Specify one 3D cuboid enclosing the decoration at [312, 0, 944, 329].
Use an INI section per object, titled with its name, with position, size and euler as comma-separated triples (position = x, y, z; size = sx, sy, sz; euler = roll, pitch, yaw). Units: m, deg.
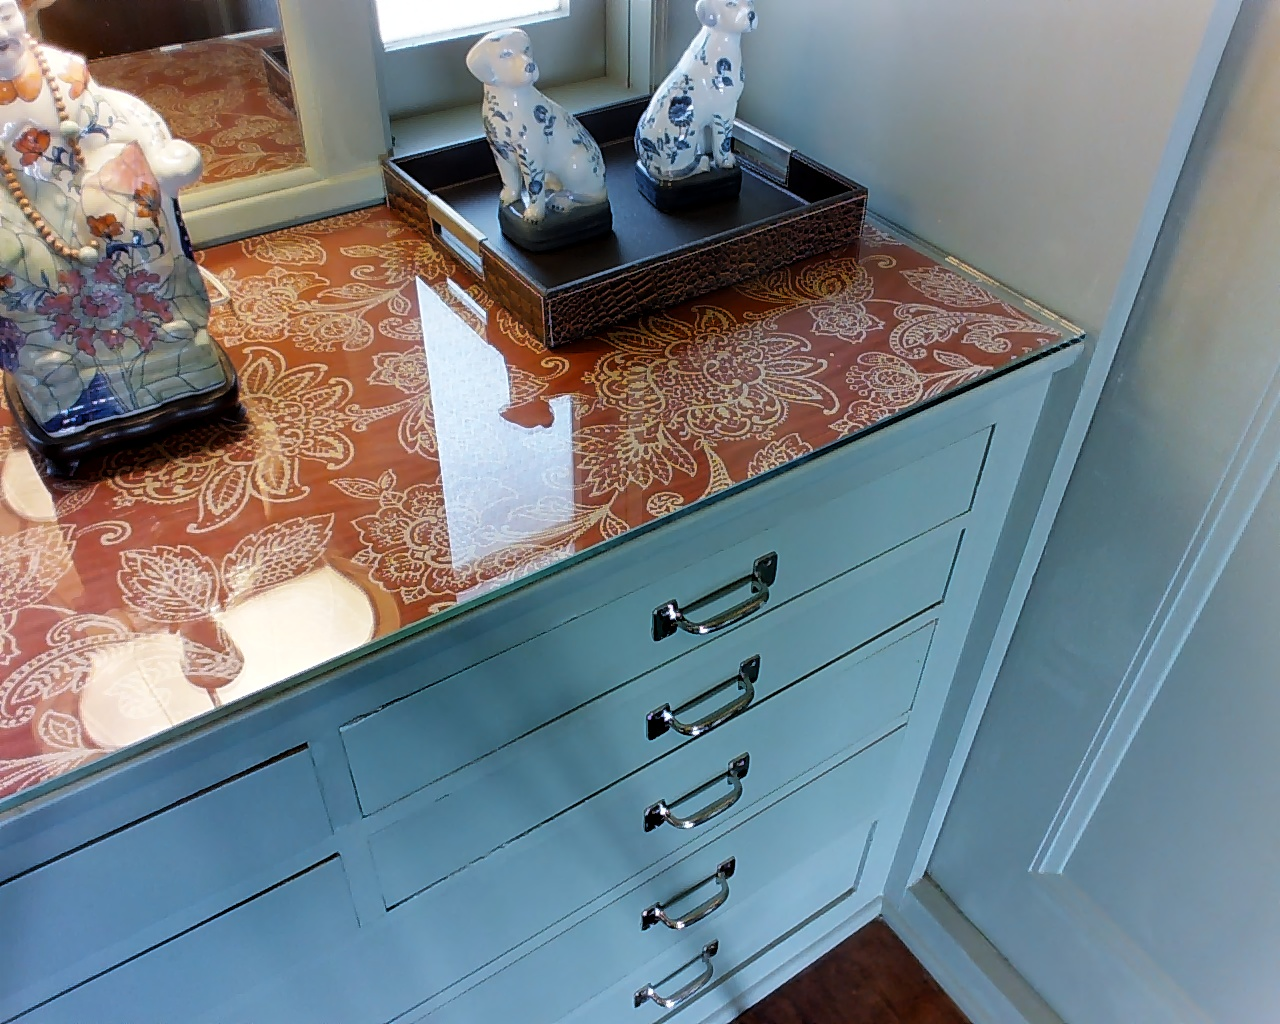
[decoration]
position = -0.030, -0.440, 1.100
size = 0.440, 0.210, 0.450
euler = -23, 47, -26
